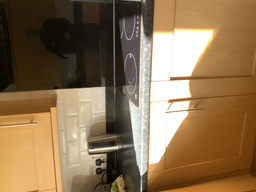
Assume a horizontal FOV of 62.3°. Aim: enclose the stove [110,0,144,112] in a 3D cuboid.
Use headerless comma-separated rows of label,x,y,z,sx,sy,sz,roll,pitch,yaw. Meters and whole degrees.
stove,-0.030,-0.260,1.230,0.560,0.020,0.550,-140,49,-67
